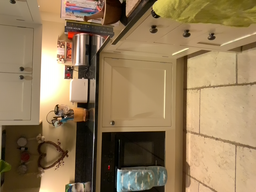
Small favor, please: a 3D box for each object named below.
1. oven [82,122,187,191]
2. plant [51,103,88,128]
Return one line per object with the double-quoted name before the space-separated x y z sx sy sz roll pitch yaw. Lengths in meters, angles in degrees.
"oven" 0.030 0.660 2.180 0.620 0.890 0.710 180 92 -72
"plant" -0.610 0.200 2.200 0.160 0.350 0.240 176 96 -72
